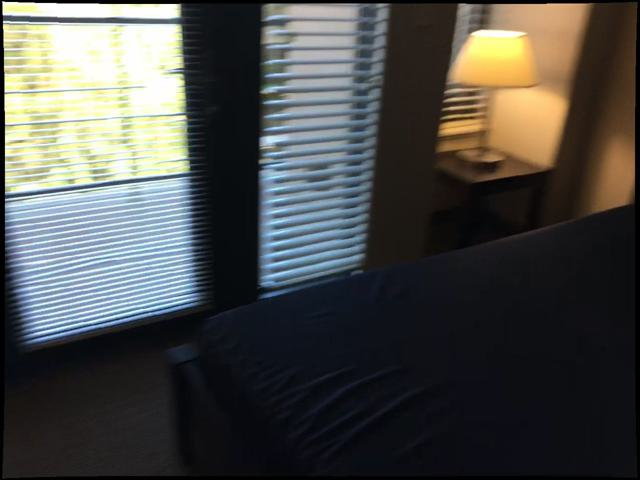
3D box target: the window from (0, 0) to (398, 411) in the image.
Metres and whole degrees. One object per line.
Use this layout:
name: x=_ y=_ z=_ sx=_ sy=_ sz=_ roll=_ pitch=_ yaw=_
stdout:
window: x=-0.678 y=-0.491 z=1.600 sx=2.006 sy=2.004 sz=0.270 roll=-13 pitch=32 yaw=-29

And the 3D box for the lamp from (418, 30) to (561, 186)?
lamp: x=0.748 y=-0.612 z=2.610 sx=0.389 sy=0.591 sz=0.350 roll=-13 pitch=32 yaw=-29
